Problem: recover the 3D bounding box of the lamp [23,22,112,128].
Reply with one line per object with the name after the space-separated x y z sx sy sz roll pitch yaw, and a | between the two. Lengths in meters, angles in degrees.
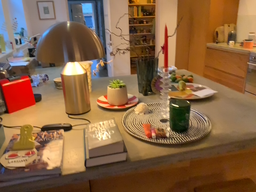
-0.300 -0.130 1.150 0.360 0.500 0.250 -7 21 -13 | lamp
